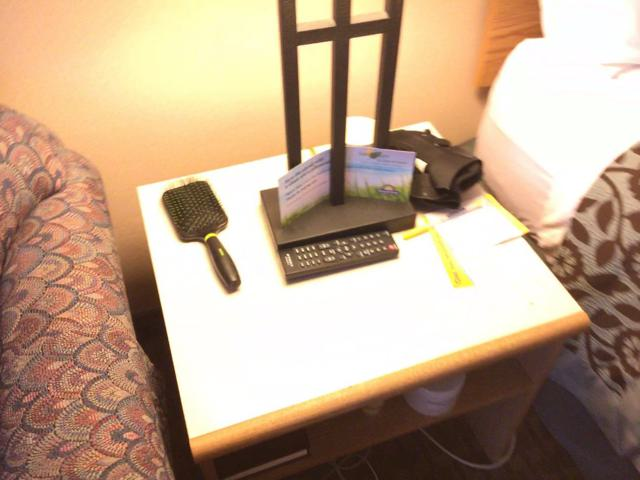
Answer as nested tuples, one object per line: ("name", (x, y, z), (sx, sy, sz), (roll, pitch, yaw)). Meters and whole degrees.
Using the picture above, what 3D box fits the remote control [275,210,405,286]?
("remote control", (0.030, 0.010, 0.870), (0.180, 0.030, 0.070), (-16, 45, -11))
